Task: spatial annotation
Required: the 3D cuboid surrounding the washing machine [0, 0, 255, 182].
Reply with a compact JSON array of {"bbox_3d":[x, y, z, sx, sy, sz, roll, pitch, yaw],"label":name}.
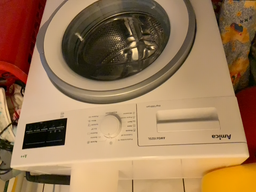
[{"bbox_3d":[0.010,-0.140,0.840,0.600,0.850,0.480,-5,153,10],"label":"washing machine"}]
